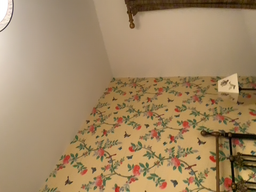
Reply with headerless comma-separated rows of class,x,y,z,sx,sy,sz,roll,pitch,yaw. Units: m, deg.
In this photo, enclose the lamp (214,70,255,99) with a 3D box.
lamp,0.980,-0.100,1.800,0.210,0.460,0.150,-64,-31,-48
